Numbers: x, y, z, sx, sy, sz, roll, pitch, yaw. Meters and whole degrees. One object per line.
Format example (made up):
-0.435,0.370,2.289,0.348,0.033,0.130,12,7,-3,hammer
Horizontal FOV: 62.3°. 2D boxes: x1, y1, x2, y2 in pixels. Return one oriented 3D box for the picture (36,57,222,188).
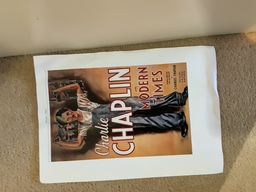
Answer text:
0.000,0.040,0.340,0.280,0.020,0.190,-3,87,0,picture
